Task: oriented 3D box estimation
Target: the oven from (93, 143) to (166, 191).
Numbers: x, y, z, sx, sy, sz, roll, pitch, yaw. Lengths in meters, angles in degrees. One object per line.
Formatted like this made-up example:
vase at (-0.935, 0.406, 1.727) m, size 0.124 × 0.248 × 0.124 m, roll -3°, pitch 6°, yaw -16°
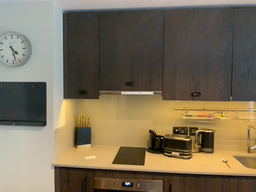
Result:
oven at (0.030, 0.990, 2.110) m, size 0.610 × 0.870 × 0.630 m, roll 2°, pitch 2°, yaw 6°
